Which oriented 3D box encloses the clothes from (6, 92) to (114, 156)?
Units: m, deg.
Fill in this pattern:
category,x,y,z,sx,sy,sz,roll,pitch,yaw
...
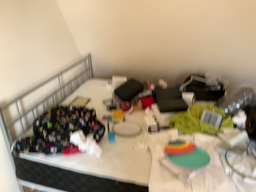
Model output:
category,x,y,z,sx,sy,sz,roll,pitch,yaw
clothes,-0.430,0.160,1.520,0.550,0.130,0.540,5,25,8
